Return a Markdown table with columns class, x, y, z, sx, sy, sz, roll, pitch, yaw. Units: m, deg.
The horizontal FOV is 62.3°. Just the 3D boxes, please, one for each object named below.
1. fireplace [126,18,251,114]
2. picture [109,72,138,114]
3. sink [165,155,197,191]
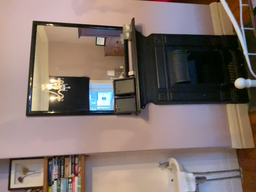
| class | x | y | z | sx | sy | sz | roll | pitch | yaw |
| --- | --- | --- | --- | --- | --- | --- | --- | --- | --- |
| fireplace | 0.600 | -0.310 | 2.250 | 0.280 | 1.160 | 0.930 | 125 | 142 | -73 |
| picture | -0.040 | -0.030 | 2.040 | 0.120 | 0.190 | 0.350 | 122 | 161 | -73 |
| sink | 0.510 | 0.820 | 2.060 | 0.290 | 0.160 | 0.470 | 123 | 145 | -72 |
